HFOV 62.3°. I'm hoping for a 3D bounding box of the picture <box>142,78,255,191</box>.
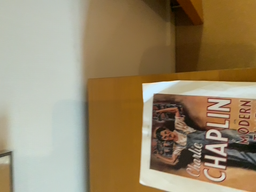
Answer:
[{"bbox_3d":[0.170,0.080,0.350,0.300,0.020,0.210,4,94,27],"label":"picture"}]
